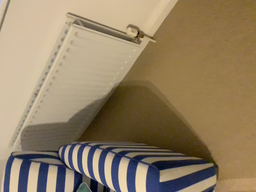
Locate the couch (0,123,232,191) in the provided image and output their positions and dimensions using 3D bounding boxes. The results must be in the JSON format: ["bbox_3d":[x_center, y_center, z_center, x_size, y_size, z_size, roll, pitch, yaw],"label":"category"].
[{"bbox_3d":[-0.090,0.680,1.120,0.920,0.840,0.920,2,89,43],"label":"couch"}]
